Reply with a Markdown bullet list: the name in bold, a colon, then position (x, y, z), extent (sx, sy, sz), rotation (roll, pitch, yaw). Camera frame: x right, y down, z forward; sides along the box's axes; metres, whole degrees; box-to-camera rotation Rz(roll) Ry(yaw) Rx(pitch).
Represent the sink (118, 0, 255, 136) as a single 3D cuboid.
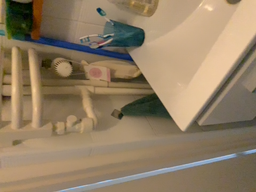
- **sink**: position (0.200, -0.260, 0.510), extent (0.400, 0.150, 0.610), rotation (62, 141, 40)
